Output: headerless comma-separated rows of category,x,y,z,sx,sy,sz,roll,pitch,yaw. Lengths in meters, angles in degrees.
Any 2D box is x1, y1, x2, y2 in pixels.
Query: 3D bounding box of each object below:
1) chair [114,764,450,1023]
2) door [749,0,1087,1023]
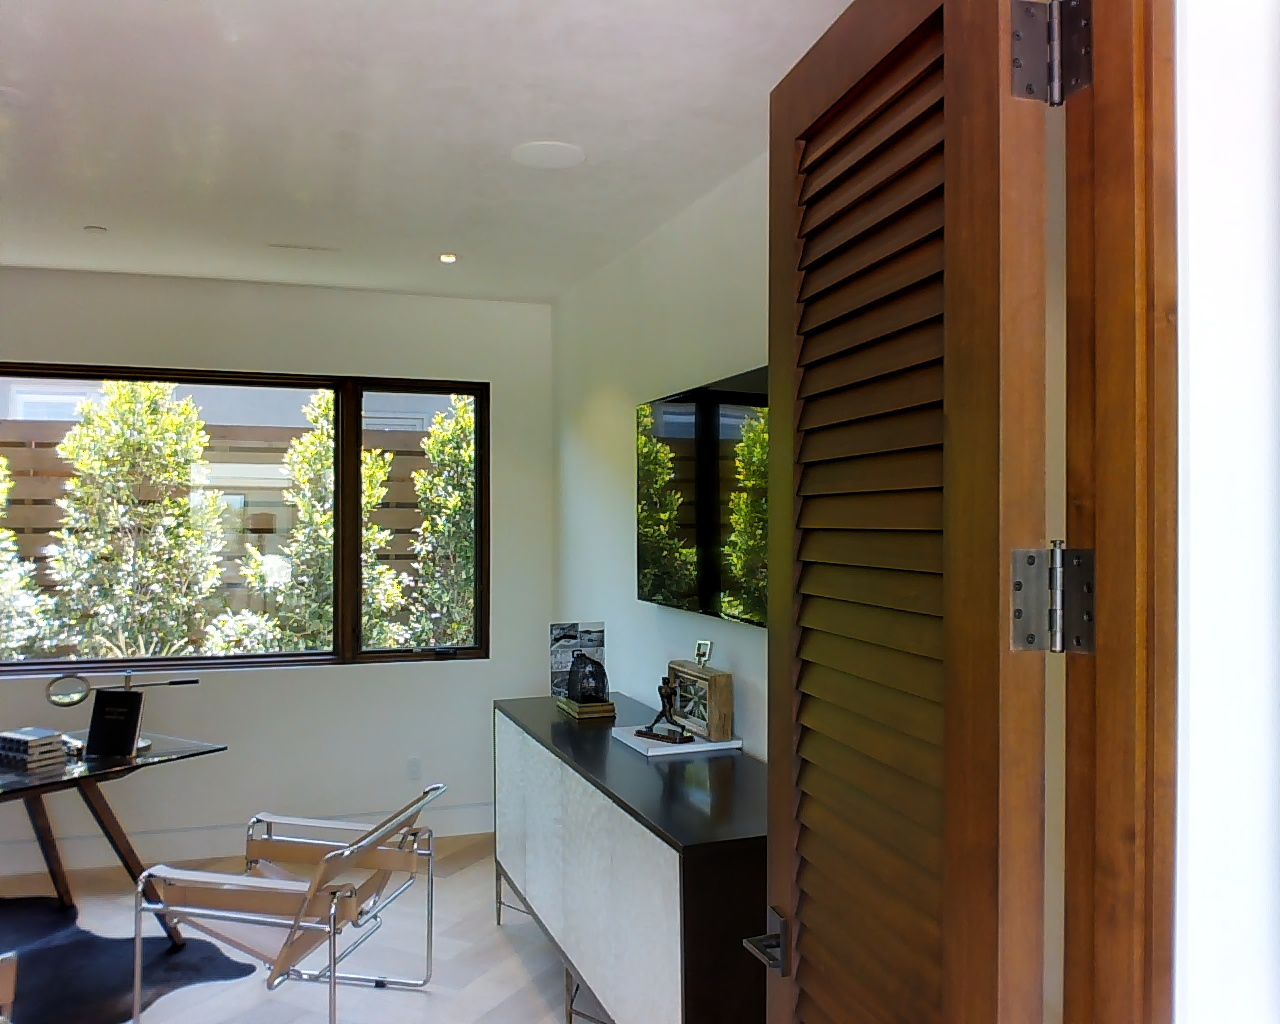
chair,-1.120,1.280,3.510,0.740,0.700,0.800,0,0,11
door,0.340,0.460,1.590,0.070,2.430,0.940,0,0,-12
